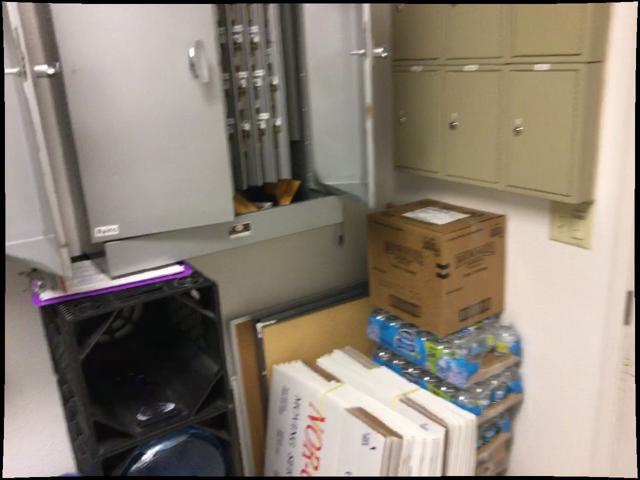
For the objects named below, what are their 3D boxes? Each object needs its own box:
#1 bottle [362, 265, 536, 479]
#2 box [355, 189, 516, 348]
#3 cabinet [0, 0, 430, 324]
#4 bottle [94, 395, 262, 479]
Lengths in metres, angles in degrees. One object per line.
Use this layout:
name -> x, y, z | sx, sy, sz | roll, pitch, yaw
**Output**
bottle -> 0.380, 0.511, 1.820 | 0.220, 0.731, 0.480 | -14, 21, -32
box -> 0.320, 0.060, 1.660 | 0.260, 0.320, 0.360 | -14, 21, -32
cabinet -> -0.210, -0.360, 1.300 | 0.809, 0.781, 0.460 | -14, 21, -32
bottle -> -0.300, 0.511, 1.240 | 0.270, 0.180, 0.240 | -14, 21, -32
